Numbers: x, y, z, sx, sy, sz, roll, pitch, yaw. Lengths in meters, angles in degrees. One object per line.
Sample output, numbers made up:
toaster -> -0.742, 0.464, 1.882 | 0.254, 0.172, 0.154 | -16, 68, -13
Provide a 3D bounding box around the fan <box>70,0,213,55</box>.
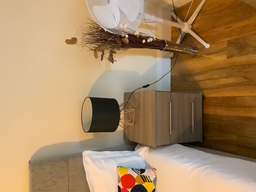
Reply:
fan -> 0.140, -0.650, 1.600 | 0.400, 1.030, 0.460 | -1, 87, 58
